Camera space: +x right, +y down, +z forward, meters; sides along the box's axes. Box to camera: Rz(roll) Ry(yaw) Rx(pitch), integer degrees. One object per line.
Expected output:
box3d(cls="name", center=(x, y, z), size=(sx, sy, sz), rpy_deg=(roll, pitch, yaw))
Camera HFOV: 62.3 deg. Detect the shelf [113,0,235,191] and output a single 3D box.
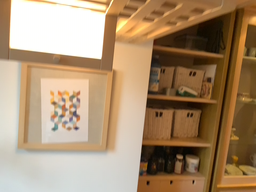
box3d(cls="shelf", center=(0.250, 0.390, 1.610), size=(0.580, 2.080, 0.430), rpy_deg=(4, 7, -13))
